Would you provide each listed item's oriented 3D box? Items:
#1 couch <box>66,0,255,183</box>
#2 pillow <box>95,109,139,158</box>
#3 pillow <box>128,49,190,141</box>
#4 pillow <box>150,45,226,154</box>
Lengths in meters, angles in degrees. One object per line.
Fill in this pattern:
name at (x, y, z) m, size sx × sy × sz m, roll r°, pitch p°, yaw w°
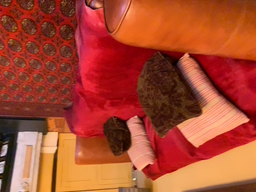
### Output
couch at (0.120, 0.040, 1.610) m, size 1.020 × 0.890 × 2.190 m, roll 3°, pitch 152°, yaw -17°
pillow at (-0.110, 0.350, 1.910) m, size 0.160 × 0.280 × 0.410 m, roll 37°, pitch 144°, yaw 2°
pillow at (0.160, 0.010, 1.160) m, size 0.150 × 0.330 × 0.380 m, roll 21°, pitch 146°, yaw -4°
pillow at (0.320, 0.040, 1.180) m, size 0.120 × 0.430 × 0.470 m, roll 26°, pitch 145°, yaw -1°
